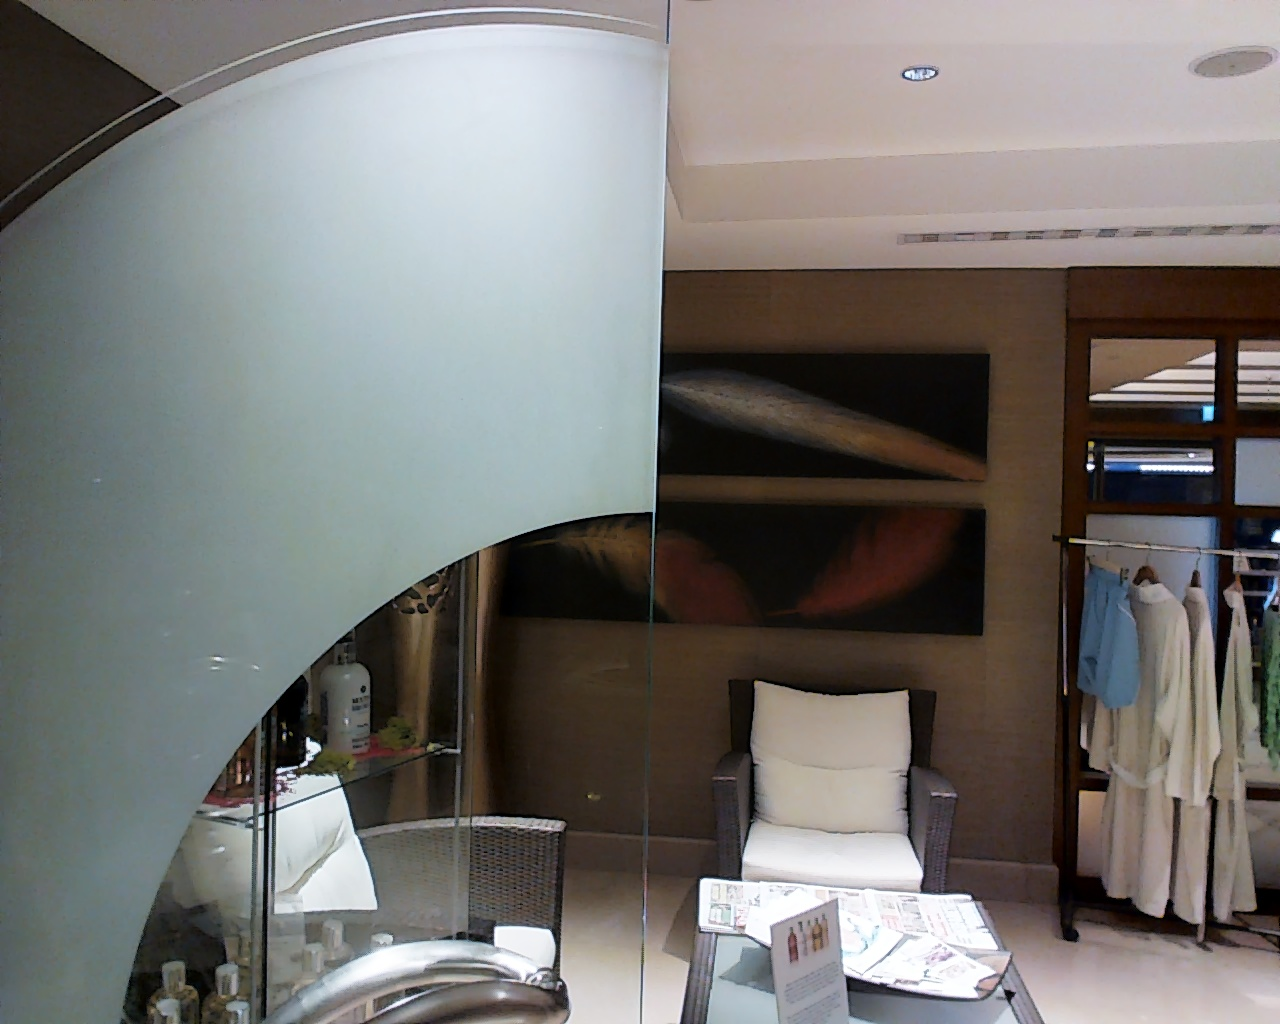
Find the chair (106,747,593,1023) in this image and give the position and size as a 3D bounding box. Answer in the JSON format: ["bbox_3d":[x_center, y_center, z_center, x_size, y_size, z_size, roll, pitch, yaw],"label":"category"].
[{"bbox_3d":[-0.650,1.120,2.700,0.910,0.830,0.860,1,0,7],"label":"chair"}]

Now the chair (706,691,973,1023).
[{"bbox_3d":[0.680,1.170,3.860,0.820,0.880,0.890,1,0,7],"label":"chair"}]
